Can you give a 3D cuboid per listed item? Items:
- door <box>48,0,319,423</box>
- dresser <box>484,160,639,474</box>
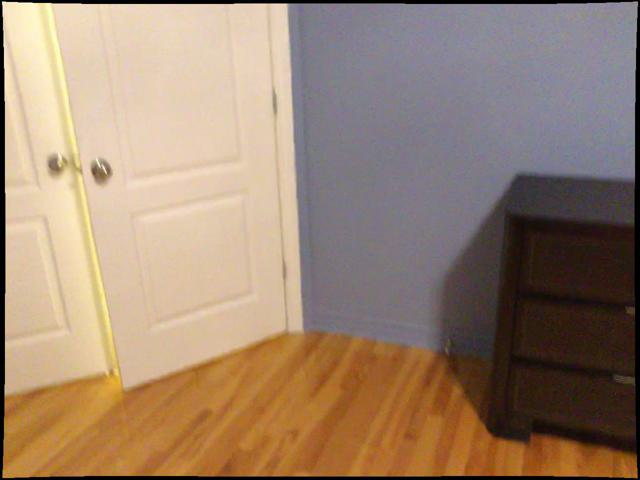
[{"bbox_3d":[-0.480,-0.430,2.080,0.709,2.032,0.510,-14,25,-26],"label":"door"},{"bbox_3d":[1.339,0.270,1.720,1.529,0.811,0.540,7,24,22],"label":"dresser"}]
